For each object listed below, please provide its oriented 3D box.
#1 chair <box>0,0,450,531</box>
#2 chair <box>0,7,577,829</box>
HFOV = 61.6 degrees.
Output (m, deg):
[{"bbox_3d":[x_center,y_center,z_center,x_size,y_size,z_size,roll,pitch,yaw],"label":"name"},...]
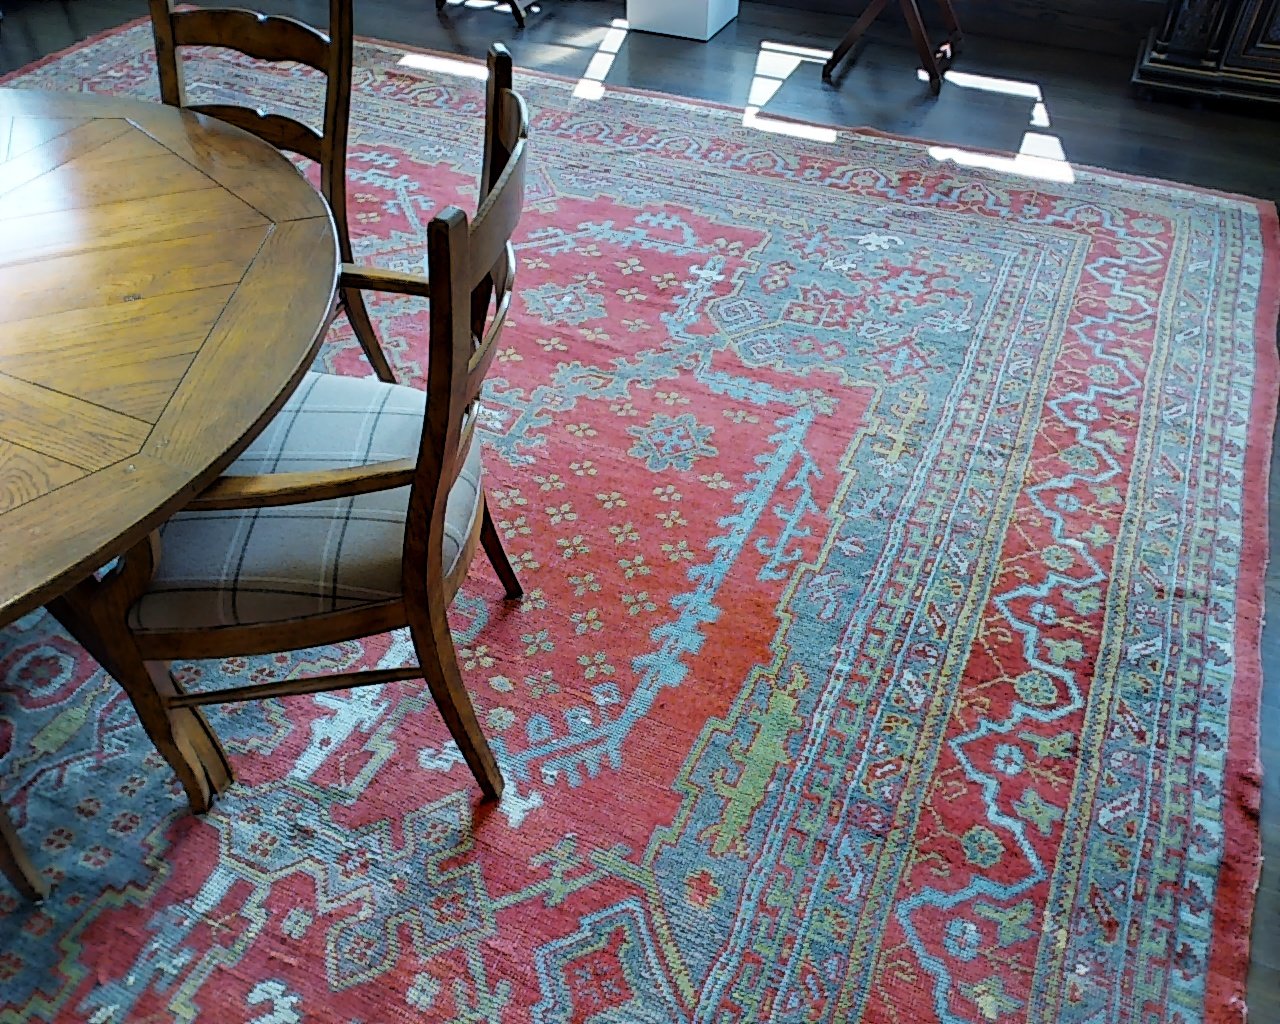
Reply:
[{"bbox_3d":[-0.880,-0.630,2.190,0.600,1.020,0.680,17,45,17],"label":"chair"},{"bbox_3d":[-0.440,-0.090,1.580,0.630,1.040,0.610,1,42,0],"label":"chair"}]
